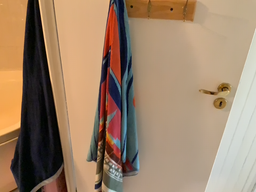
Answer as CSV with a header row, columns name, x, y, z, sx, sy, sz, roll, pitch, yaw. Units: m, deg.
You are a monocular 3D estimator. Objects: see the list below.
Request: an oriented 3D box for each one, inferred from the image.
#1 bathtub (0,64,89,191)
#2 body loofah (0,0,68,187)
name,x,y,z,sx,sy,sz,roll,pitch,yaw
bathtub,-1.120,0.280,1.800,1.360,0.610,1.440,2,29,-3
body loofah,-0.530,0.050,1.090,0.310,0.970,0.220,2,29,-3
